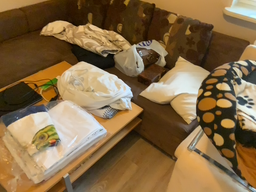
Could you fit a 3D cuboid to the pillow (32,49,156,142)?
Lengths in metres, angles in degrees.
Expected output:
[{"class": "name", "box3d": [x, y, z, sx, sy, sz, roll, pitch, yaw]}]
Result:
[{"class": "pillow", "box3d": [-0.230, -0.060, 1.450, 0.660, 0.140, 0.500, 31, 47, 28]}]

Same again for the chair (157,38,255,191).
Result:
[{"class": "chair", "box3d": [0.580, 0.290, 1.150, 0.470, 0.920, 0.640, 31, 47, 28]}]

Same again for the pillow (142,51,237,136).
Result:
[{"class": "pillow", "box3d": [0.460, -0.060, 1.570, 0.440, 0.220, 0.580, 28, 46, 25]}]
